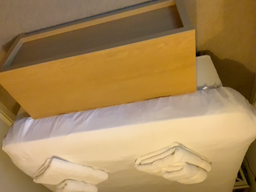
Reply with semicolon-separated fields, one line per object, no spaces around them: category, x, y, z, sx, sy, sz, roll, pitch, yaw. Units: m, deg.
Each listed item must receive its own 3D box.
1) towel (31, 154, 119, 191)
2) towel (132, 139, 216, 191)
towel;-0.370;0.590;1.490;0.470;0.090;0.390;25;132;-25
towel;0.280;0.450;1.310;0.350;0.110;0.380;-32;129;29
